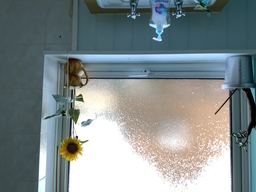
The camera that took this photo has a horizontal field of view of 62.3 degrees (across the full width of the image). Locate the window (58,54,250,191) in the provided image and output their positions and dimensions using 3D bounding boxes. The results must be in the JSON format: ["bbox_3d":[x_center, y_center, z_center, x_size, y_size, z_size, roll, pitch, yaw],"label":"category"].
[{"bbox_3d":[0.140,0.220,1.340,1.130,0.950,0.110,1,176,6],"label":"window"}]
